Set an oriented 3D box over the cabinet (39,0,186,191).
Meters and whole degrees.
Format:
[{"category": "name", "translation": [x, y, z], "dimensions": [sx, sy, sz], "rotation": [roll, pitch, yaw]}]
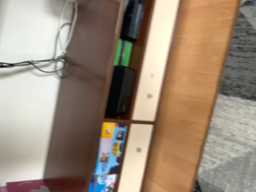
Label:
[{"category": "cabinet", "translation": [-0.150, 0.100, 1.330], "dimensions": [0.580, 0.430, 1.700], "rotation": [14, 94, 51]}]
